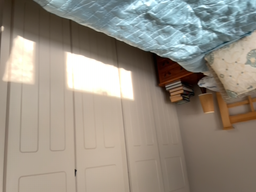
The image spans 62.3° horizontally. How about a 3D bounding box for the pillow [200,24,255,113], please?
[{"bbox_3d":[0.830,-0.200,1.500,0.180,0.430,0.430,24,117,-36],"label":"pillow"}]
